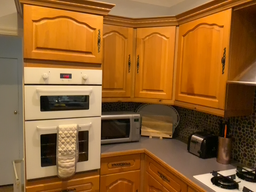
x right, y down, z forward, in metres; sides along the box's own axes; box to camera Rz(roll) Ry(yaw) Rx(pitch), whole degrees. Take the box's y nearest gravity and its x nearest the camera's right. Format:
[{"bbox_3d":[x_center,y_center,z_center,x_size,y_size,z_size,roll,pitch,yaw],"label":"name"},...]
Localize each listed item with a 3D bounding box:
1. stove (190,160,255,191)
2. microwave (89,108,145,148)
[{"bbox_3d":[0.820,0.570,1.330,0.550,0.030,0.630,0,6,-23],"label":"stove"},{"bbox_3d":[-0.130,0.320,2.310,0.480,0.310,0.420,-1,6,-24],"label":"microwave"}]
